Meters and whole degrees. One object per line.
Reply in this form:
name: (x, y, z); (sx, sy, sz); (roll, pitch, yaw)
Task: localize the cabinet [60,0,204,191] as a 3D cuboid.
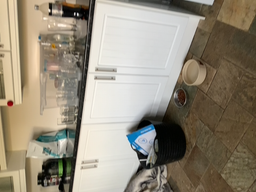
cabinet: (-0.190, 0.320, 2.340); (0.600, 0.880, 2.570); (-122, 39, -50)
